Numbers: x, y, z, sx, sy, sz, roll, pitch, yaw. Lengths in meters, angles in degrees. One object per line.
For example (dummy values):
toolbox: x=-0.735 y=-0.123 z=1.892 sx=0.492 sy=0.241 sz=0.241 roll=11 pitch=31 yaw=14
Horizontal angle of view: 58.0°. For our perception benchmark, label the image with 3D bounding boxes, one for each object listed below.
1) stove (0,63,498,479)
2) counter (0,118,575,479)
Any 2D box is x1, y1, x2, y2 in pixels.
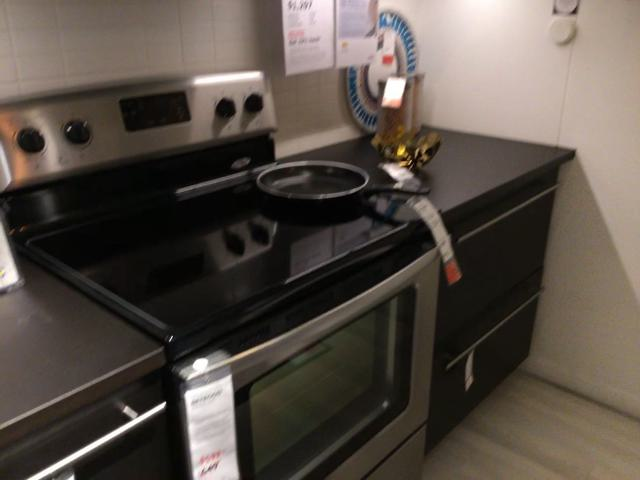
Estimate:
stove: x=-0.140 y=0.240 z=1.400 sx=0.690 sy=1.200 sz=0.900 roll=16 pitch=28 yaw=41
counter: x=-0.070 y=-0.060 z=1.430 sx=0.650 sy=0.150 sz=1.870 roll=16 pitch=28 yaw=41
